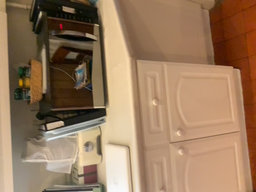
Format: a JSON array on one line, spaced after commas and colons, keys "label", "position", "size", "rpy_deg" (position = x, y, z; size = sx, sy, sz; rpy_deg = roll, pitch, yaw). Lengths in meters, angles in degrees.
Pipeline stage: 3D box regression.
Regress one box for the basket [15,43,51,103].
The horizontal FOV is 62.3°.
[{"label": "basket", "position": [-0.510, -0.110, 1.130], "size": [0.170, 0.150, 0.290], "rpy_deg": [-3, 88, 59]}]
